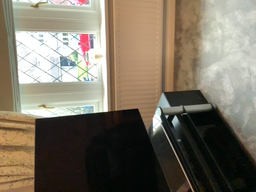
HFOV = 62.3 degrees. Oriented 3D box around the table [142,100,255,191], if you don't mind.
[{"bbox_3d":[0.580,0.660,1.490,0.430,0.510,1.290,106,154,-44],"label":"table"}]
